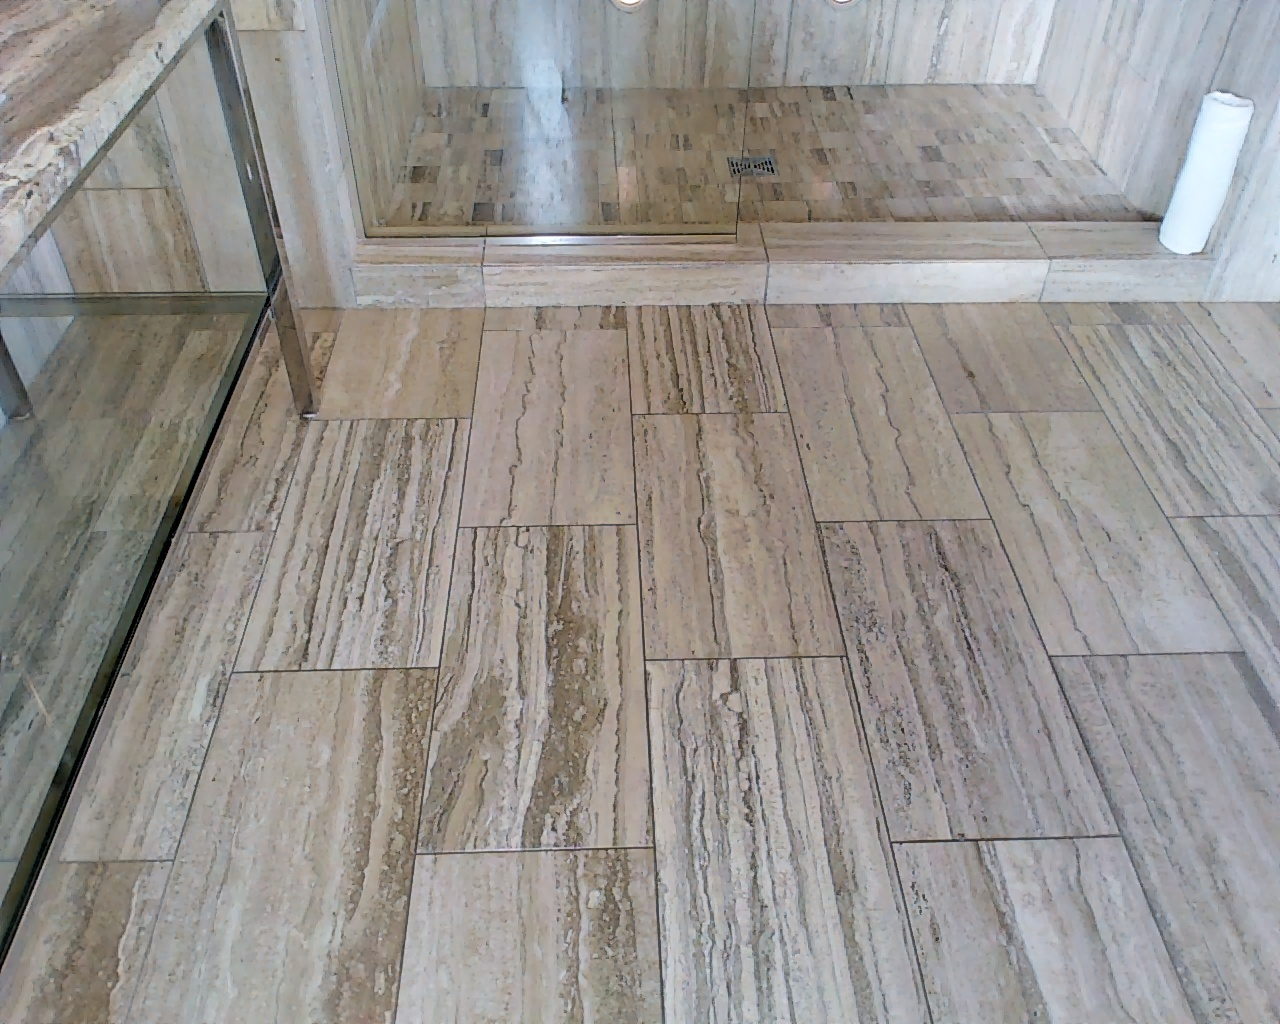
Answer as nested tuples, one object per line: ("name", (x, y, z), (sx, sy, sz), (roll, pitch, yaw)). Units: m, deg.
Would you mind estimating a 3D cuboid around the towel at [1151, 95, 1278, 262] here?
("towel", (1.220, -0.710, 2.300), (0.100, 0.310, 0.140), (-1, 42, -2))
